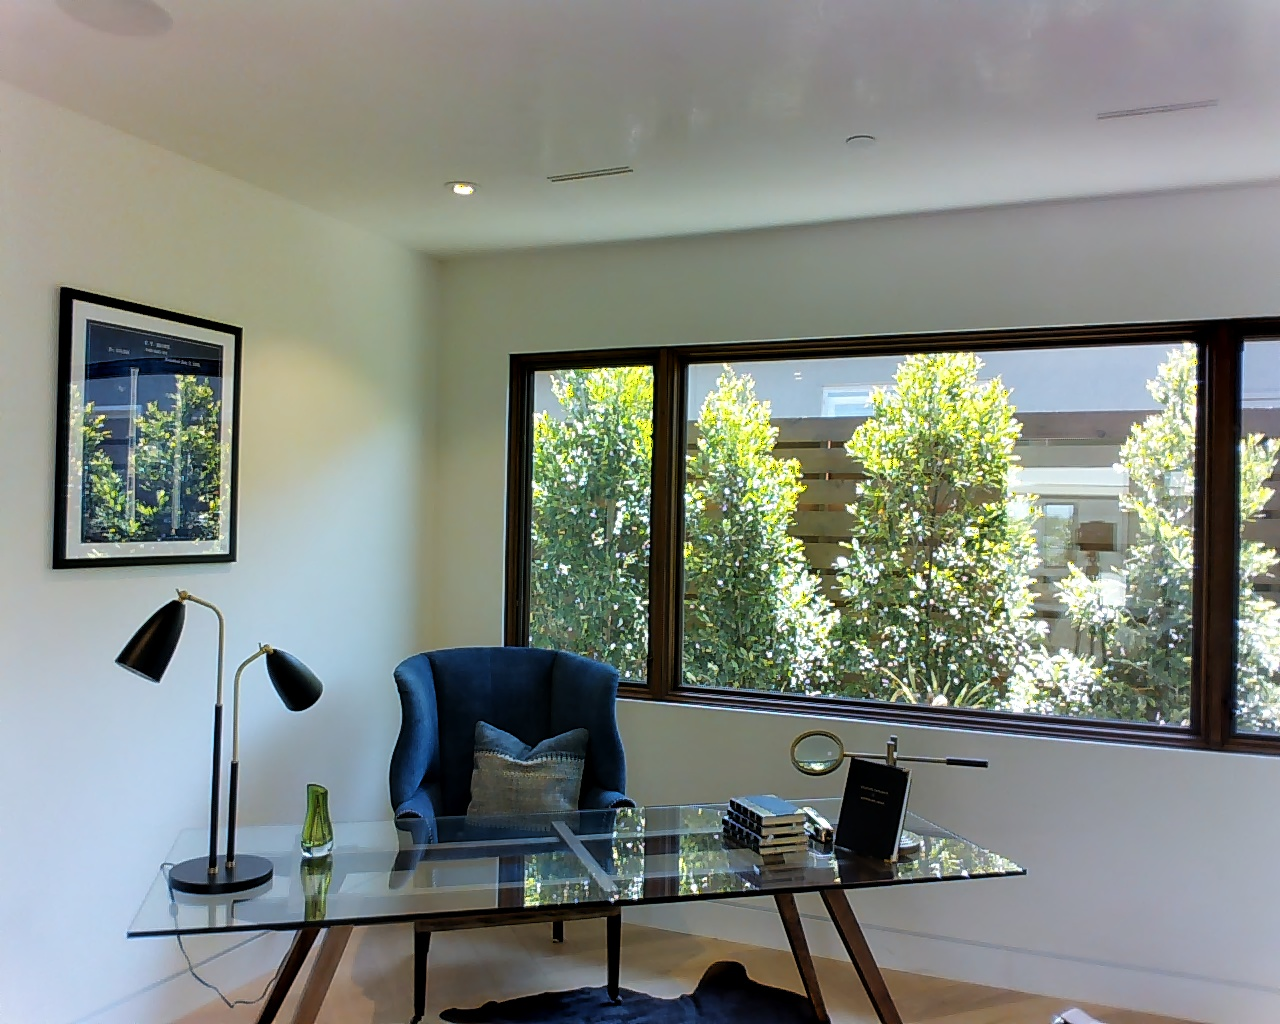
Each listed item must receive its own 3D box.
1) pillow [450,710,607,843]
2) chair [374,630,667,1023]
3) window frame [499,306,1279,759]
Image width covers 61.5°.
[{"bbox_3d":[-0.410,0.970,3.980,0.480,0.330,0.230,11,3,13],"label":"pillow"},{"bbox_3d":[-0.480,1.070,4.000,0.900,1.160,0.850,1,0,-18],"label":"chair"},{"bbox_3d":[1.070,0.050,4.150,3.520,1.510,0.240,1,0,22],"label":"window frame"}]
